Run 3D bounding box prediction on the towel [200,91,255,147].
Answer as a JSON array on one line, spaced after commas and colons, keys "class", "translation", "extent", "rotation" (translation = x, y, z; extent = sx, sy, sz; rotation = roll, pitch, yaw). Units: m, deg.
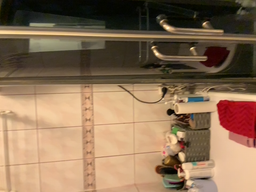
[{"class": "towel", "translation": [0.470, 0.090, 1.010], "extent": [0.360, 0.060, 0.170], "rotation": [-141, 50, -74]}]
